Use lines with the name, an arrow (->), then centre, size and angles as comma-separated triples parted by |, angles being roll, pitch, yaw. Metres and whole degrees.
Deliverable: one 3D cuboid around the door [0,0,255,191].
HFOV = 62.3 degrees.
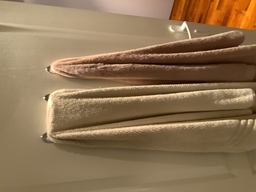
door -> 0.310, 0.050, 0.880 | 0.130, 2.080, 1.000 | 127, 141, -62
